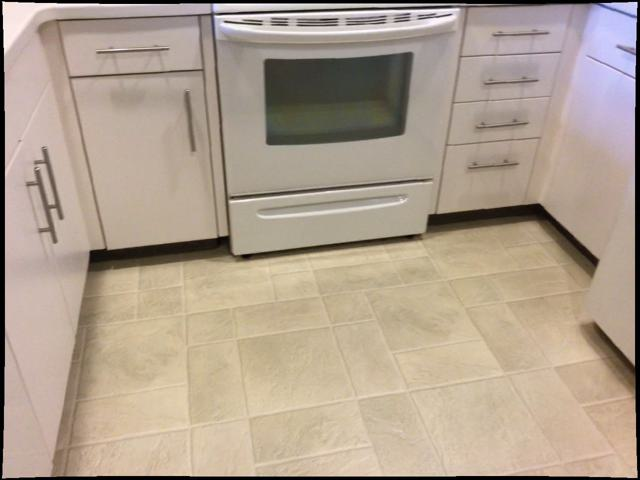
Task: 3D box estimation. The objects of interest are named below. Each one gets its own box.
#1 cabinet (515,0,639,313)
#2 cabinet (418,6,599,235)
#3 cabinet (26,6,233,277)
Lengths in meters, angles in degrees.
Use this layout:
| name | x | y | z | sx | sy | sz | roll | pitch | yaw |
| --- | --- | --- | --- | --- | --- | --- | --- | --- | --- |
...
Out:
| name | x | y | z | sx | sy | sz | roll | pitch | yaw |
| --- | --- | --- | --- | --- | --- | --- | --- | --- | --- |
| cabinet | 0.977 | -0.311 | 1.970 | 0.120 | 0.902 | 0.650 | -6 | 35 | -11 |
| cabinet | 0.678 | -0.421 | 2.180 | 0.519 | 0.851 | 0.080 | -6 | 35 | -11 |
| cabinet | -0.578 | -0.291 | 1.920 | 0.509 | 0.892 | 0.110 | -6 | 35 | -11 |
